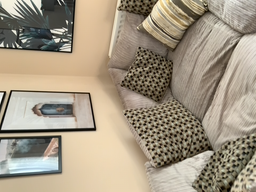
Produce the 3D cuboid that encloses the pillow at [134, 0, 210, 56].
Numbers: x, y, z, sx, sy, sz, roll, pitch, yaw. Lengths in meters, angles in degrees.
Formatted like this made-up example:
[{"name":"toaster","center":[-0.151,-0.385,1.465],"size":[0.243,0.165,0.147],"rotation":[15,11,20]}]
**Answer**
[{"name":"pillow","center":[0.310,-0.630,1.700],"size":[0.550,0.300,0.330],"rotation":[129,137,-59]}]
